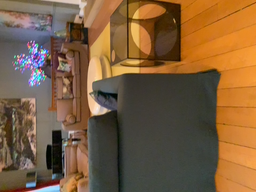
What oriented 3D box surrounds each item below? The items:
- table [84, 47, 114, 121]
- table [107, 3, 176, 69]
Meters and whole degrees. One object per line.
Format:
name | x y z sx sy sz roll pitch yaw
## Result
table | -0.580 -0.210 3.980 1.230 0.260 1.170 -174 84 -69
table | 0.100 -0.500 1.930 0.460 0.470 0.440 -175 86 -69
